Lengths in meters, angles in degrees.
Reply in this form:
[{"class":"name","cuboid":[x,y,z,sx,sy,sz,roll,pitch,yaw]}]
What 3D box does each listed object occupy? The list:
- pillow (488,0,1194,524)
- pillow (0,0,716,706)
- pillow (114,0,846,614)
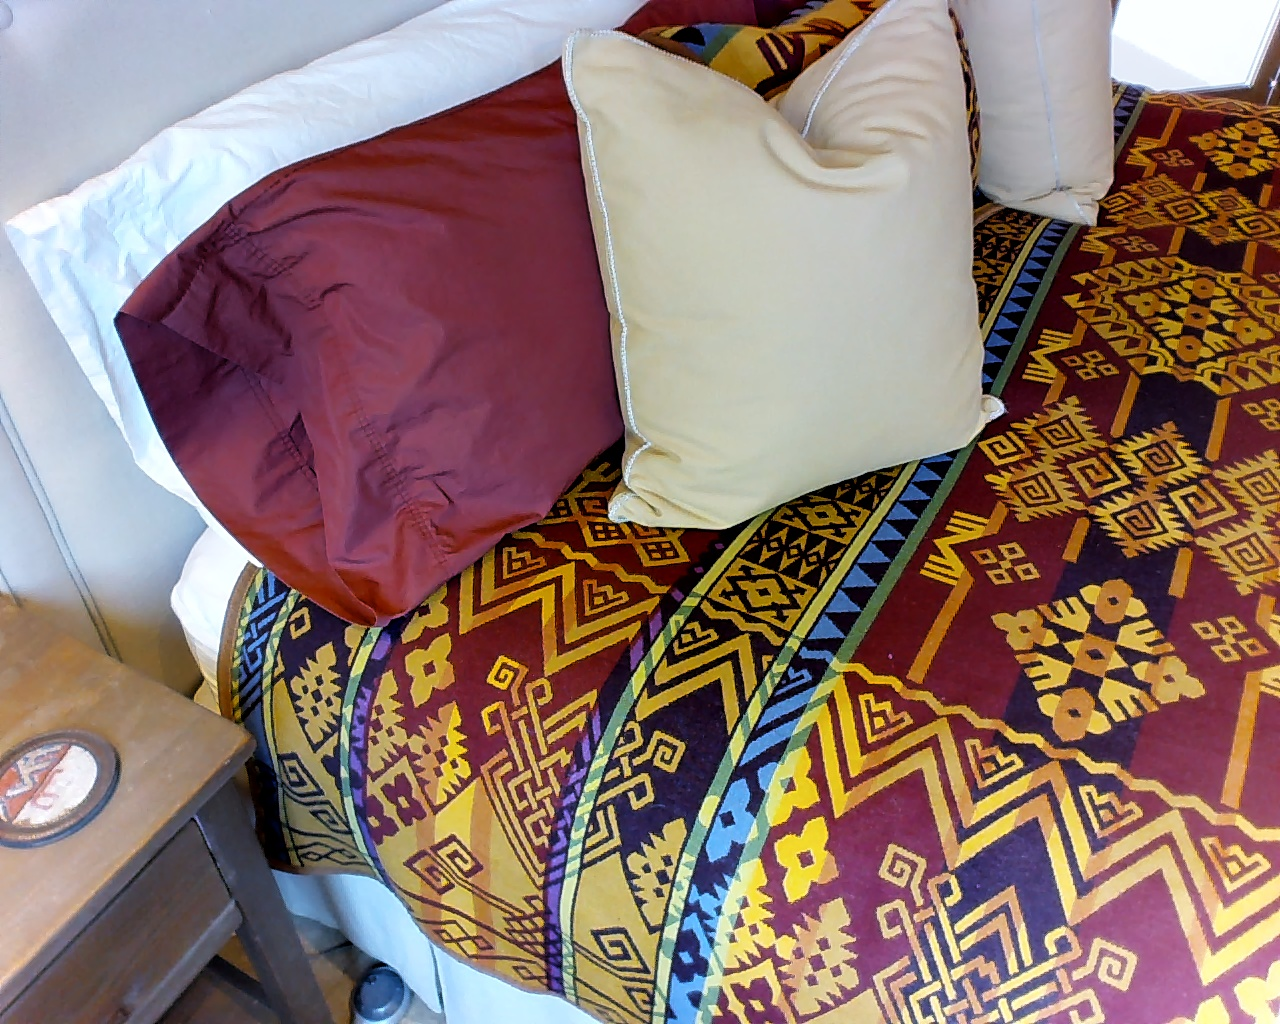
[{"class":"pillow","cuboid":[0.180,-0.300,1.090,0.540,0.500,0.300,-5,28,-31]},{"class":"pillow","cuboid":[-0.210,-0.340,1.350,0.170,0.600,1.040,20,44,20]},{"class":"pillow","cuboid":[-0.080,-0.290,1.210,0.270,0.450,0.970,20,22,20]}]
